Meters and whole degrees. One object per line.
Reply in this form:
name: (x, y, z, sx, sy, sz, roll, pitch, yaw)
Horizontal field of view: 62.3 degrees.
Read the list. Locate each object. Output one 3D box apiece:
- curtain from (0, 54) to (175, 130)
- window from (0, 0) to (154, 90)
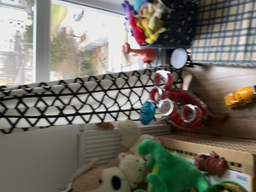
curtain: (-0.640, -0.010, 1.470, 0.260, 2.330, 0.450, -13, 78, 58)
window: (-0.730, -0.500, 1.710, 0.160, 2.220, 0.840, -9, 82, 58)
